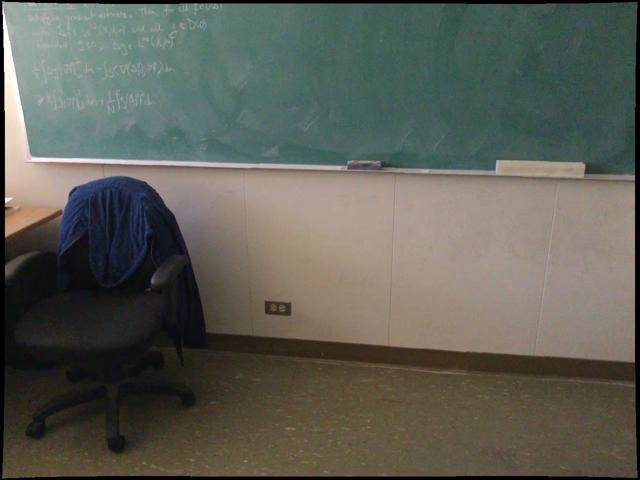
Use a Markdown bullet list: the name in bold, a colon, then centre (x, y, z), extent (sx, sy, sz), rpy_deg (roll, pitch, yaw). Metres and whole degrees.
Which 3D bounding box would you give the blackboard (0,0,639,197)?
- **blackboard**: centre (0.000, -0.842, 2.070), extent (2.603, 1.323, 0.190), rpy_deg (2, 21, 8)

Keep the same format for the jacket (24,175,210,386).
- **jacket**: centre (-0.778, 0.160, 2.310), extent (0.549, 0.792, 0.250), rpy_deg (2, 21, 8)

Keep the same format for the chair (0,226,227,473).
- **chair**: centre (-0.808, 0.371, 2.230), extent (0.668, 0.641, 0.680), rpy_deg (2, 21, 8)
